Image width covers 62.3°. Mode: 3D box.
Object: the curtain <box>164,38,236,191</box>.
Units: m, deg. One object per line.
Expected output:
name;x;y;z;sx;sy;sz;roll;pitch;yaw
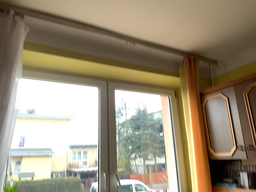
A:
curtain;0.760;0.760;2.110;0.450;2.730;0.300;7;-18;-30
